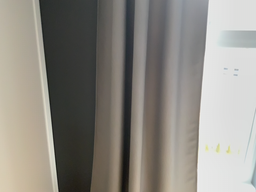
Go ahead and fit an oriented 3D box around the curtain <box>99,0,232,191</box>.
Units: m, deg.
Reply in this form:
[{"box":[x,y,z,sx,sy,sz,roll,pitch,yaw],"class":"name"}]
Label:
[{"box":[0.180,-0.340,1.180,0.640,2.530,0.200,3,18,5],"class":"curtain"}]
